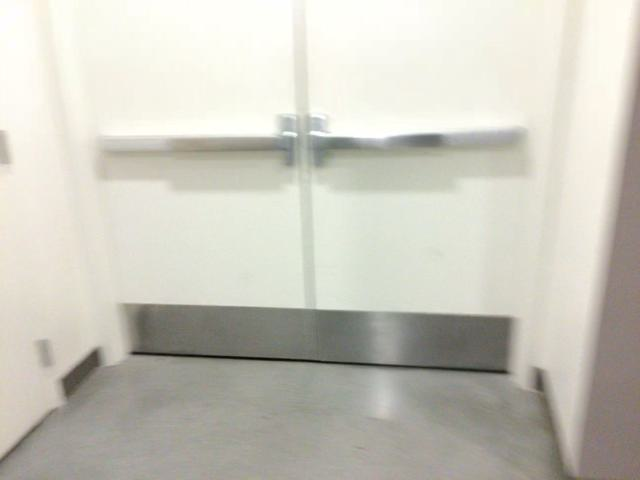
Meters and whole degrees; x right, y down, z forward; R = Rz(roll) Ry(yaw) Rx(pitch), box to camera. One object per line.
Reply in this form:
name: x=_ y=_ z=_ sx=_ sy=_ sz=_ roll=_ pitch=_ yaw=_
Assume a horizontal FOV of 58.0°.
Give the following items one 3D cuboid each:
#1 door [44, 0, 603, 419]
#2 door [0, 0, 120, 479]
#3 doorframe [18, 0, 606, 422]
door: x=-0.020 y=-0.280 z=2.220 sx=1.830 sy=1.780 sz=0.380 roll=3 pitch=21 yaw=13
door: x=-1.120 y=0.000 z=1.810 sx=0.110 sy=1.600 sz=1.200 roll=3 pitch=21 yaw=13
doorframe: x=-0.070 y=-0.260 z=2.180 sx=1.910 sy=1.760 sz=0.330 roll=3 pitch=21 yaw=13
